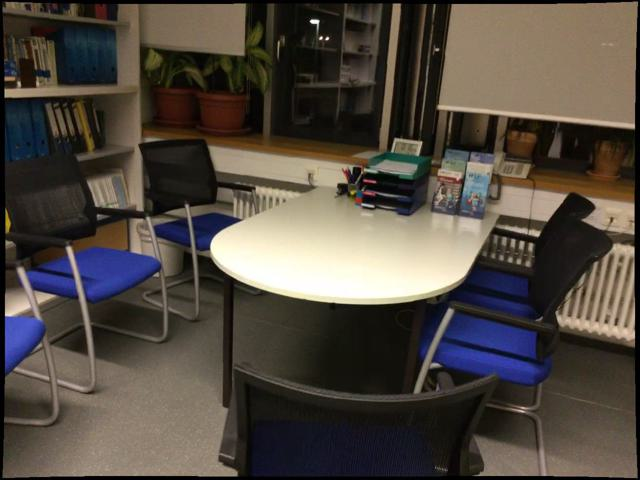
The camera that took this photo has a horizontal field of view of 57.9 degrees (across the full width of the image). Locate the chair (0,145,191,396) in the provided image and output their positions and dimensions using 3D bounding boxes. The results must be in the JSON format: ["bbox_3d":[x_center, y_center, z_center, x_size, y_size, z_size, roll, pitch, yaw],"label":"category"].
[{"bbox_3d":[-1.099,0.080,2.650,0.739,0.861,0.640,10,21,21],"label":"chair"}]

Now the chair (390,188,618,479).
[{"bbox_3d":[0.669,0.290,2.150,0.609,0.781,0.580,10,21,20],"label":"chair"}]

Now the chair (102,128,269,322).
[{"bbox_3d":[-0.729,-0.130,3.280,0.620,0.871,0.640,12,21,25],"label":"chair"}]
